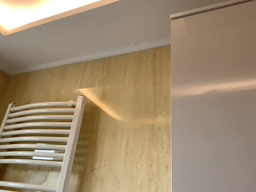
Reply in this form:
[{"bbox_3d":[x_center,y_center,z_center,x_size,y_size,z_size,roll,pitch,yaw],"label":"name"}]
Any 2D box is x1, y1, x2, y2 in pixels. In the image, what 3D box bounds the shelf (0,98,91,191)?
[{"bbox_3d":[-0.530,0.480,0.960,0.580,0.920,0.140,-7,-30,24],"label":"shelf"}]
